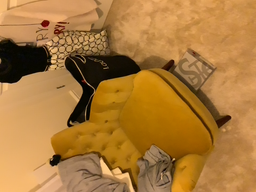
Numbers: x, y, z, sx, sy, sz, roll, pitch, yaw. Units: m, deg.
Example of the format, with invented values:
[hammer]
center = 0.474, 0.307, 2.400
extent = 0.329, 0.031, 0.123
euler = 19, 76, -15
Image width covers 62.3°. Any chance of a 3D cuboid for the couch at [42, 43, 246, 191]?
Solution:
[couch]
center = 0.100, 0.220, 1.290
extent = 0.700, 0.790, 0.660
euler = 51, 132, 11
